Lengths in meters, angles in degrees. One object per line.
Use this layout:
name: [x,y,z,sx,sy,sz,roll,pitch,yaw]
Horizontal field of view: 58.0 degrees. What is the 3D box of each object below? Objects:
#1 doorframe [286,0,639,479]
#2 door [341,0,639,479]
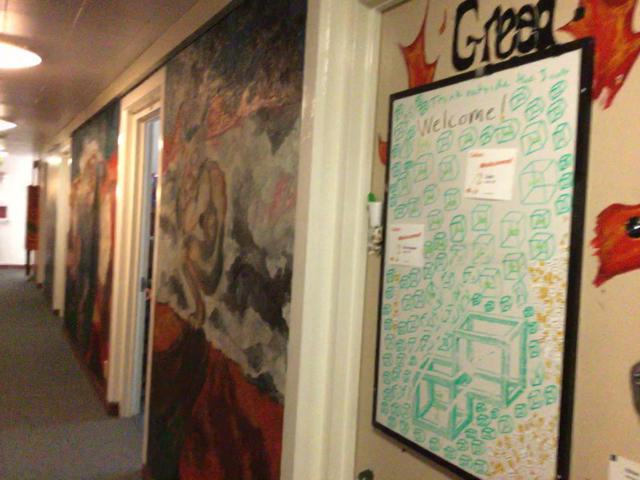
doorframe: [0.260,0.370,1.230,0.200,2.190,1.090,2,3,-27]
door: [0.310,0.420,1.290,0.070,2.090,0.880,2,3,-27]
